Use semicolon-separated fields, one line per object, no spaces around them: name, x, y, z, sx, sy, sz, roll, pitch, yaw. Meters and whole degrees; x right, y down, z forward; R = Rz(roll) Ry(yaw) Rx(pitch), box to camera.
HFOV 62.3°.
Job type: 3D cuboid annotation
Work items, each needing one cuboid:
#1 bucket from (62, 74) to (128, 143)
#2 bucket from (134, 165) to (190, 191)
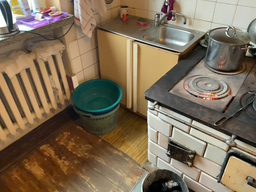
bucket;-0.300;0.100;2.030;0.490;0.360;0.350;27;46;32
bucket;0.220;0.670;1.410;0.280;0.190;0.240;22;44;27
